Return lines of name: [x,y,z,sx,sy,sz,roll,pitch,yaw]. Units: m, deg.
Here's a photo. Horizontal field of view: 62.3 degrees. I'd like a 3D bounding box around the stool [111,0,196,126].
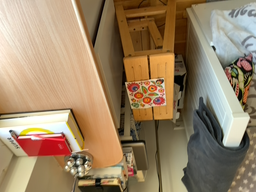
stool: [0.120,-0.200,1.120,0.310,0.560,0.410,-5,134,5]
